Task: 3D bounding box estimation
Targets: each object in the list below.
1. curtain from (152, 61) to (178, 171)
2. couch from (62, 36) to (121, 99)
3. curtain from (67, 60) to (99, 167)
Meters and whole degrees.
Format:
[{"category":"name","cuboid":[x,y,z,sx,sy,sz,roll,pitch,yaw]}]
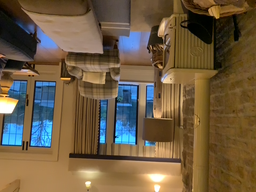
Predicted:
[{"category":"curtain","cuboid":[0.810,0.410,4.660,0.490,2.340,0.120,3,174,0]},{"category":"couch","cuboid":[-0.570,-0.440,3.750,0.830,0.890,0.910,2,174,1]},{"category":"curtain","cuboid":[-1.000,0.370,4.780,0.550,2.330,0.150,3,174,0]}]
